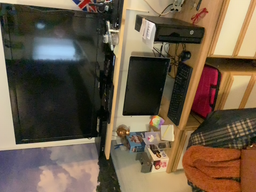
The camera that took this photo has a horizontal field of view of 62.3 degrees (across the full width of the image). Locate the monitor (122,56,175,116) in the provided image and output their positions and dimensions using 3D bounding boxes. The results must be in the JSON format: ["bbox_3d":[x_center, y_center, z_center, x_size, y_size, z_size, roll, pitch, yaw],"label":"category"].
[{"bbox_3d":[0.150,-0.060,1.670,0.040,0.340,0.490,-113,29,-60],"label":"monitor"}]

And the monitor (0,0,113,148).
[{"bbox_3d":[-0.450,-0.080,1.390,0.050,0.620,0.960,-123,36,-54],"label":"monitor"}]
